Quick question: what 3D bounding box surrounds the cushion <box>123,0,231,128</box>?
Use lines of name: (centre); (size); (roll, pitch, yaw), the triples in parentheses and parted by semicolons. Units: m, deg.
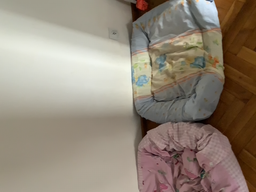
cushion: (0.290, -0.270, 1.530); (0.640, 0.180, 0.930); (-17, 75, 46)

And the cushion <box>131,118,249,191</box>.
cushion: (0.380, 0.670, 1.330); (0.680, 0.180, 0.950); (-20, 73, 45)
